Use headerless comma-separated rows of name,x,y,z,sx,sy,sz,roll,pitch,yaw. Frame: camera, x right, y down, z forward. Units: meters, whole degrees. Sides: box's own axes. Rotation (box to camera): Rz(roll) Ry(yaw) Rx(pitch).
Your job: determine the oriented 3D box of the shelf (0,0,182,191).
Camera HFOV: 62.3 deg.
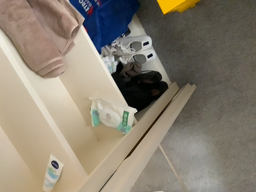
shelf,-0.570,-0.080,0.370,0.280,2.100,1.150,-24,100,37
